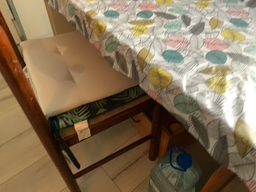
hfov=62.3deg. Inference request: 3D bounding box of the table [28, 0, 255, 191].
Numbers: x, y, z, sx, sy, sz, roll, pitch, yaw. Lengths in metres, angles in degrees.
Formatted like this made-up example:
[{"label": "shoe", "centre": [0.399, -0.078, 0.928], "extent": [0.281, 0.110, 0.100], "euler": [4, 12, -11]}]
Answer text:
[{"label": "table", "centre": [0.120, -0.100, 0.940], "extent": [0.630, 0.760, 1.010], "euler": [-29, 53, -23]}]
